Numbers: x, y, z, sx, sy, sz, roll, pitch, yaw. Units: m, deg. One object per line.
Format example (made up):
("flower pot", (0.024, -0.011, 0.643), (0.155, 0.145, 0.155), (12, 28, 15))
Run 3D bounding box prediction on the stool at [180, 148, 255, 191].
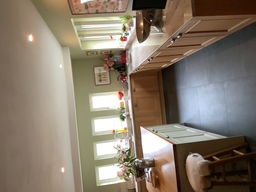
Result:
("stool", (1.050, 0.840, 2.340), (0.400, 0.800, 0.350), (165, 100, -81))
